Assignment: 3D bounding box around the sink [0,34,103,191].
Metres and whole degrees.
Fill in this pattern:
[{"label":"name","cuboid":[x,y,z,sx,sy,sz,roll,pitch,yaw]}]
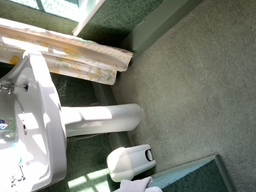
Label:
[{"label":"sink","cuboid":[-0.470,0.120,1.100,0.450,0.290,0.670,-35,67,37]}]
